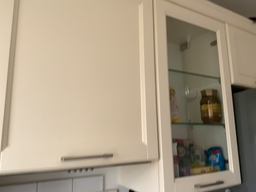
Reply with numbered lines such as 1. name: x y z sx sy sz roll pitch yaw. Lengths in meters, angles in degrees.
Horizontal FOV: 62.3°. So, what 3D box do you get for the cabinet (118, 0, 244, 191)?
1. cabinet: 0.250 -0.020 1.130 0.500 0.940 0.350 6 -12 -31
